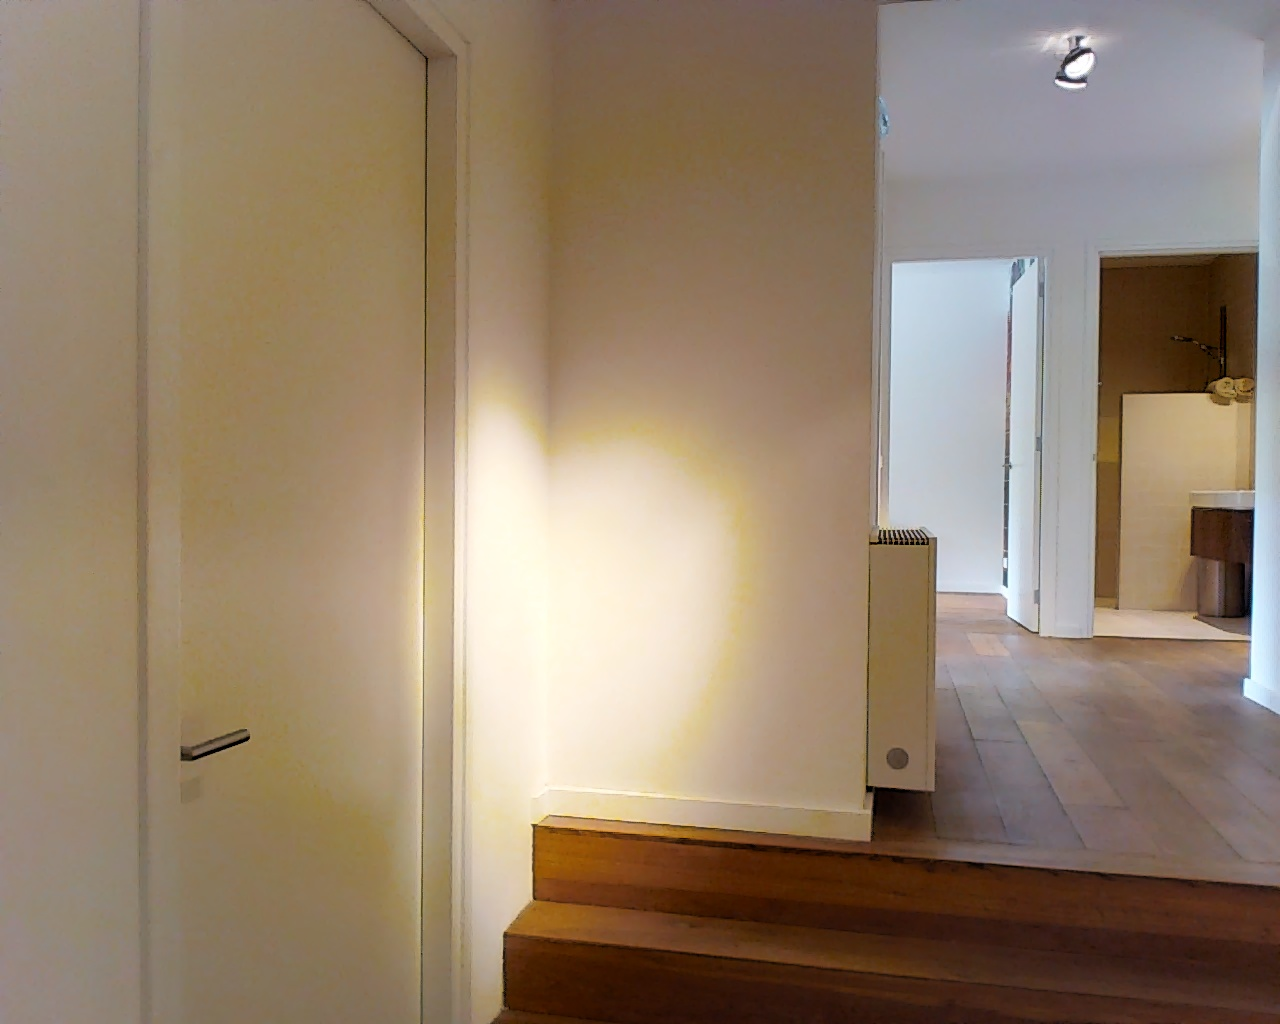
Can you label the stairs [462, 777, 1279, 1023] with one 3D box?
[{"bbox_3d":[0.870,1.000,2.330,2.420,0.520,0.630,1,1,13],"label":"stairs"}]
